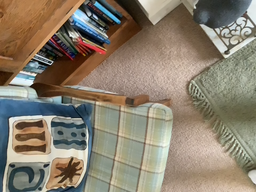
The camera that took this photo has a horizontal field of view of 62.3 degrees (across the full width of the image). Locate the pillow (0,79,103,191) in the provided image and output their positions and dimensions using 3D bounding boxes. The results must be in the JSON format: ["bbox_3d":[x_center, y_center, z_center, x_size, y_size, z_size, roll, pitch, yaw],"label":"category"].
[{"bbox_3d":[-0.340,0.200,0.840,0.160,0.400,0.380,33,142,43],"label":"pillow"}]
